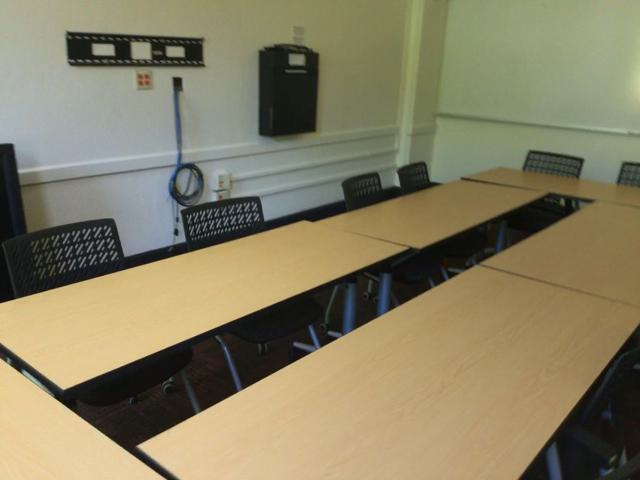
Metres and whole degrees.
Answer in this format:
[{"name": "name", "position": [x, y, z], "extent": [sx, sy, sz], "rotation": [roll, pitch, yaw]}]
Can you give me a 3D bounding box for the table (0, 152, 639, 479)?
[{"name": "table", "position": [0.410, 0.340, 2.400], "extent": [1.490, 0.750, 4.080], "rotation": [15, 23, 35]}]
